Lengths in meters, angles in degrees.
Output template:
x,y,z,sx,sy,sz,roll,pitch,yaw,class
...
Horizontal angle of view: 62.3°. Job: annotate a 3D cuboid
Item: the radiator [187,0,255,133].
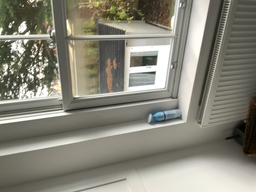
x,y,z,sx,sy,sz,roll,pitch,yaw,class
0.760,-0.320,1.260,0.060,0.730,1.110,-130,38,-59,radiator
